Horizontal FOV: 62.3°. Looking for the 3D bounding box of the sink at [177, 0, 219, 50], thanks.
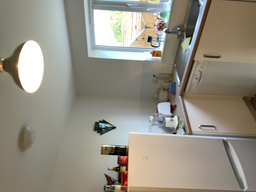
[{"bbox_3d":[0.700,-0.840,2.230,0.520,0.200,0.490,-88,2,-48],"label":"sink"}]
